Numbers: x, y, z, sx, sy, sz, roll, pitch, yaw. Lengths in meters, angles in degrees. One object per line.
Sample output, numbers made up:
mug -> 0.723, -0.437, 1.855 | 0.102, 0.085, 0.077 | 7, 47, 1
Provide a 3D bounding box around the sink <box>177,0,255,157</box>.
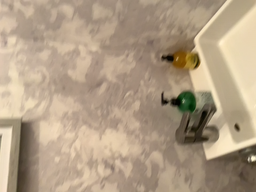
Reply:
sink -> 0.350, -0.070, 0.630 | 0.400, 0.120, 0.400 | 125, 141, -55
